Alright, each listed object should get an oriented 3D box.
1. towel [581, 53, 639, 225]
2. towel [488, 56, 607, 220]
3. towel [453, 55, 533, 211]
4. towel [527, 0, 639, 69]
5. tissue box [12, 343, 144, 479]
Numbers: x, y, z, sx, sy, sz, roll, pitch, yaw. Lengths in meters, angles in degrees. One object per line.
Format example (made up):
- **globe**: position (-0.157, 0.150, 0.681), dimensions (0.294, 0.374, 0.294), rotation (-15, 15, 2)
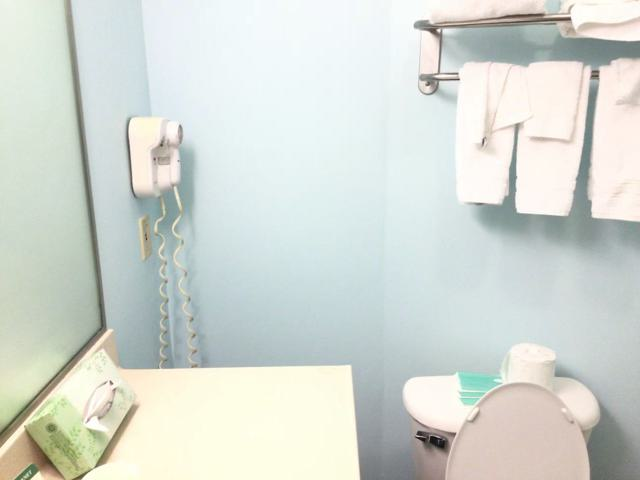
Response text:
- **towel**: position (0.710, -0.220, 1.270), dimensions (0.220, 0.360, 0.110), rotation (3, 14, 20)
- **towel**: position (0.510, -0.230, 1.320), dimensions (0.210, 0.350, 0.110), rotation (-1, 13, 2)
- **towel**: position (0.400, -0.250, 1.360), dimensions (0.140, 0.340, 0.130), rotation (-1, 13, 2)
- **towel**: position (0.690, -0.500, 1.210), dimensions (0.390, 0.240, 0.340), rotation (-1, 13, 2)
- **tissue box**: position (-0.420, 0.300, 1.040), dimensions (0.110, 0.130, 0.260), rotation (-1, 13, 2)
